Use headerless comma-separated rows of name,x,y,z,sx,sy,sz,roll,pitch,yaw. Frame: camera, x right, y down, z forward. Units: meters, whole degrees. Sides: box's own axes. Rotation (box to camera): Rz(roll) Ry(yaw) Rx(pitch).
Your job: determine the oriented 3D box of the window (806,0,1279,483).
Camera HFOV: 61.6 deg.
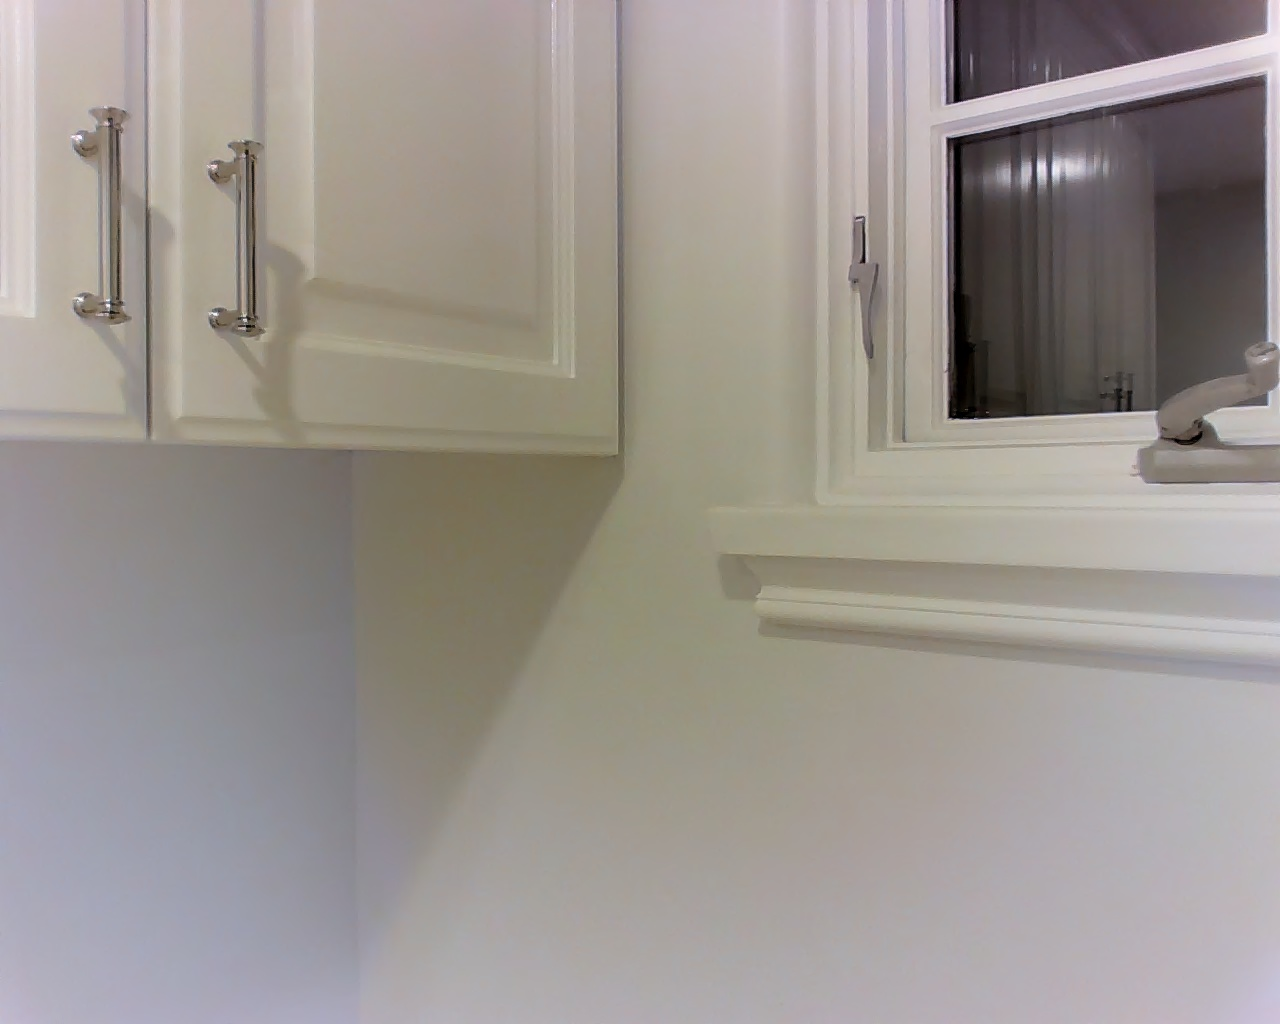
window,0.360,-0.280,0.630,0.510,0.510,0.150,-1,0,39
